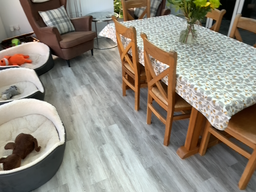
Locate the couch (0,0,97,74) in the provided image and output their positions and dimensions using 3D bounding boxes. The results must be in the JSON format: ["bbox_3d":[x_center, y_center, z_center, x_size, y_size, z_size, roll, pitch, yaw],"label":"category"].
[{"bbox_3d":[-1.190,-1.070,3.290,1.060,0.970,0.790,23,41,29],"label":"couch"}]
